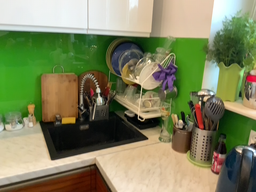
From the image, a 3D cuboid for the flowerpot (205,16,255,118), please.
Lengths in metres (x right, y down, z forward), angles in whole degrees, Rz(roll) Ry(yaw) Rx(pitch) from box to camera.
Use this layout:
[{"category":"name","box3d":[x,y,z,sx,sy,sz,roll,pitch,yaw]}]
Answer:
[{"category":"flowerpot","box3d":[0.600,-0.150,1.000,0.300,0.400,0.260,-6,18,-29]}]

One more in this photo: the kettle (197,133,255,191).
[{"category":"kettle","box3d":[0.390,0.300,0.790,0.160,0.250,0.160,-5,18,-27]}]
